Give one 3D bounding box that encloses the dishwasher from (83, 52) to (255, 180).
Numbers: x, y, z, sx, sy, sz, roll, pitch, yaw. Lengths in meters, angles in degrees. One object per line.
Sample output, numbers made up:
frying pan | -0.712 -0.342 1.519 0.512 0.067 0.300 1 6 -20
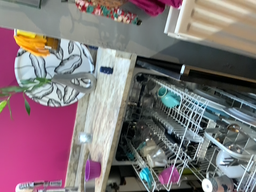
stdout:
dishwasher | 0.210 0.110 1.520 0.700 0.870 0.600 -137 58 -64
